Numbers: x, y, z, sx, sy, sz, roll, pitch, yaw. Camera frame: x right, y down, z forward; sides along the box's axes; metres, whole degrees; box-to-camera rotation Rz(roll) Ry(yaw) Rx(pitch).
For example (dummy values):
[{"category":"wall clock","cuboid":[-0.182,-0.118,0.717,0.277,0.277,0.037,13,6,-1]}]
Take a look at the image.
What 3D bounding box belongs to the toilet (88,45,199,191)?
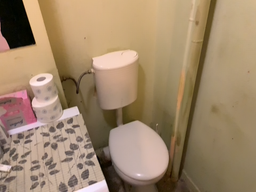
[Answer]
[{"category":"toilet","cuboid":[0.050,0.260,1.380,0.360,0.960,0.570,-15,39,-17]}]
